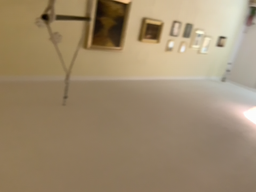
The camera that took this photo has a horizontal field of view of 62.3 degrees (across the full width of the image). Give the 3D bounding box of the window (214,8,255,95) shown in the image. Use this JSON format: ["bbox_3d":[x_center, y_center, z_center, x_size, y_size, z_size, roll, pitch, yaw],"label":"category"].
[{"bbox_3d":[2.840,-0.600,3.690,0.190,1.480,2.350,-4,-154,-39],"label":"window"}]
